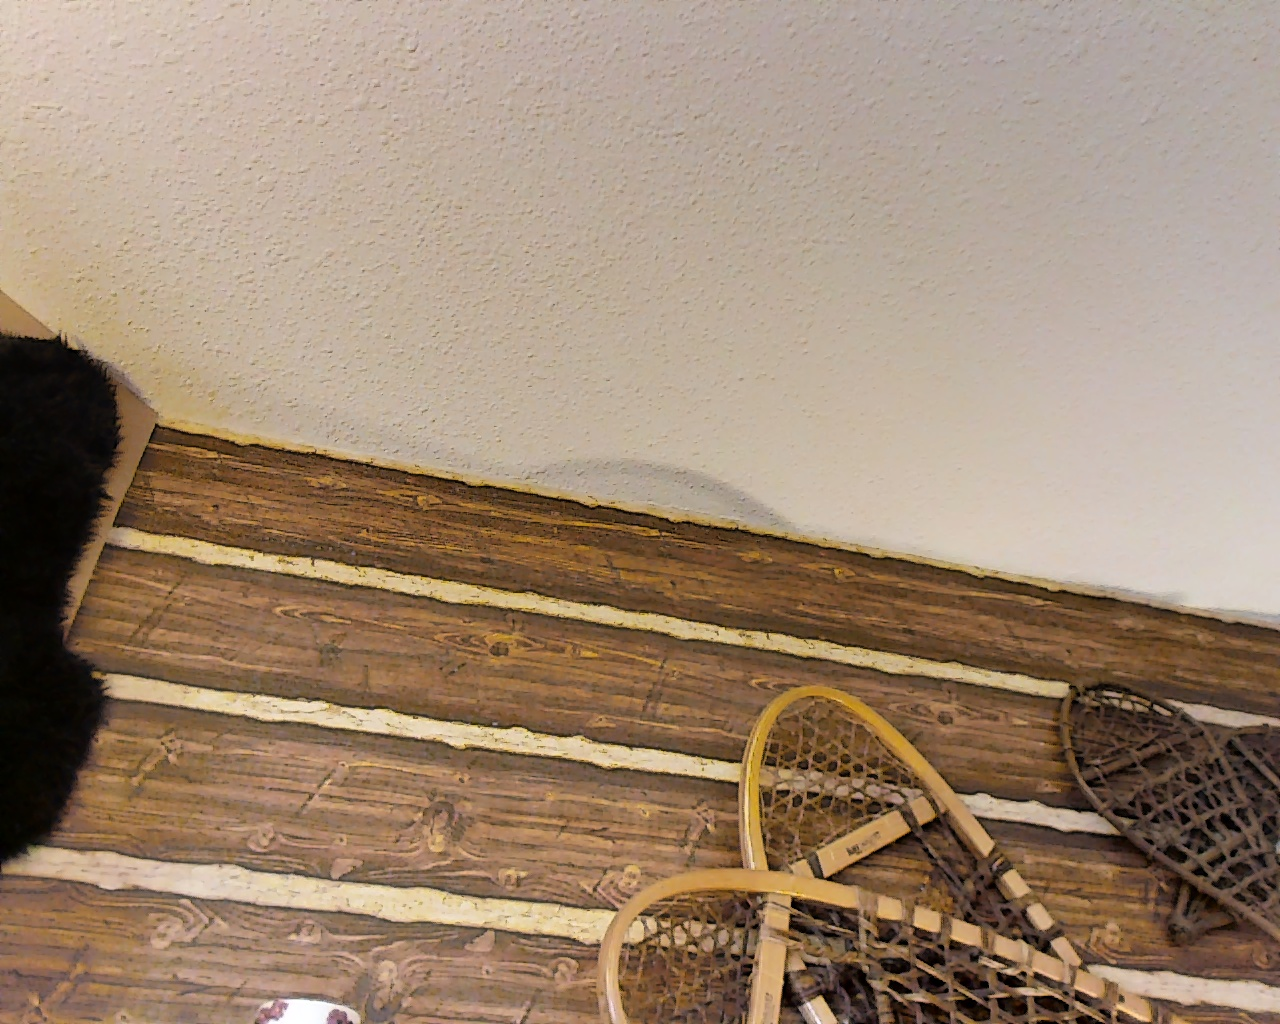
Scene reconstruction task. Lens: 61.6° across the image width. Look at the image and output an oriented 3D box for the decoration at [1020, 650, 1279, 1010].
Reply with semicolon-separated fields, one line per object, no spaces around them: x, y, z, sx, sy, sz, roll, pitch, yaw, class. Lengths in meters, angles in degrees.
0.720;0.370;1.240;0.500;0.380;0.050;10;-42;-10;decoration
